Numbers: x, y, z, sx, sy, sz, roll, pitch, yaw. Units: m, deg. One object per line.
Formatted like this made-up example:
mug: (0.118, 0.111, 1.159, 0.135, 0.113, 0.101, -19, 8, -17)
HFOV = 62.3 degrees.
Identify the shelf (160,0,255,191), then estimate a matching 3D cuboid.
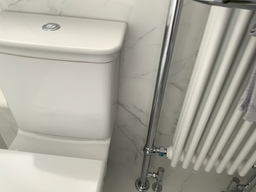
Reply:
shelf: (0.390, -0.010, 0.660, 0.430, 0.980, 0.150, 7, 41, 4)

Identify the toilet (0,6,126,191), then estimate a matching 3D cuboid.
toilet: (-0.260, 0.260, 0.640, 0.400, 0.780, 0.690, 6, 41, 2)
